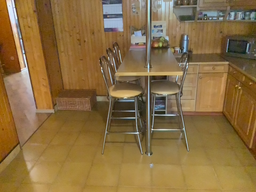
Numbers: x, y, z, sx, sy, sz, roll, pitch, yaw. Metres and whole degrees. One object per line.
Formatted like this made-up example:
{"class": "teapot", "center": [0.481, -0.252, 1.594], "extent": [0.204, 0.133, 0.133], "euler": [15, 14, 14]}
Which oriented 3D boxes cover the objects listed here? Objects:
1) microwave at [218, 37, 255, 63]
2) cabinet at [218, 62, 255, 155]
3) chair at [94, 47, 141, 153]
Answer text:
{"class": "microwave", "center": [1.650, -0.690, 3.110], "extent": [0.360, 0.270, 0.450], "euler": [-17, 27, -33]}
{"class": "cabinet", "center": [1.590, 0.100, 2.610], "extent": [0.560, 0.830, 0.900], "euler": [1, 22, 5]}
{"class": "chair", "center": [-0.080, 0.060, 2.420], "extent": [0.450, 1.150, 0.360], "euler": [1, 22, 6]}
